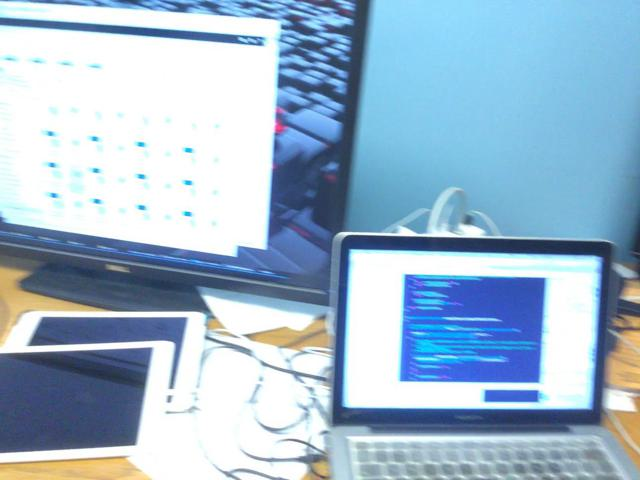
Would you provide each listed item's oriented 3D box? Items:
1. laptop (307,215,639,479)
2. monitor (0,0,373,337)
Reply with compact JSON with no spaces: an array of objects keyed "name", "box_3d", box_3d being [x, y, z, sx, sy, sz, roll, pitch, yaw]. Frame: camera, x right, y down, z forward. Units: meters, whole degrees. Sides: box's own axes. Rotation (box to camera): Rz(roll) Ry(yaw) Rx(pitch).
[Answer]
[{"name":"laptop","box_3d":[0.160,0.160,0.570,0.330,0.260,0.330,3,22,1]},{"name":"monitor","box_3d":[-0.280,-0.140,0.800,0.670,0.460,0.130,6,22,9]}]
